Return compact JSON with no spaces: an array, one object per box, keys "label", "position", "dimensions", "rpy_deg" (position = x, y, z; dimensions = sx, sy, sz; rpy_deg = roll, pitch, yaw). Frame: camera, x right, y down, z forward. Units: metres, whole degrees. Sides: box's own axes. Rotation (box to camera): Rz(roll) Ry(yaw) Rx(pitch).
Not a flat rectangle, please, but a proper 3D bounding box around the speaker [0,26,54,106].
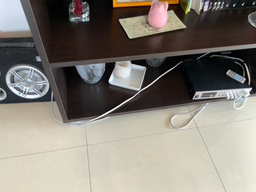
[{"label":"speaker","position":[-0.520,-0.130,0.950],"dimensions":[0.300,0.260,0.230],"rpy_deg":[-4,54,-8]}]
